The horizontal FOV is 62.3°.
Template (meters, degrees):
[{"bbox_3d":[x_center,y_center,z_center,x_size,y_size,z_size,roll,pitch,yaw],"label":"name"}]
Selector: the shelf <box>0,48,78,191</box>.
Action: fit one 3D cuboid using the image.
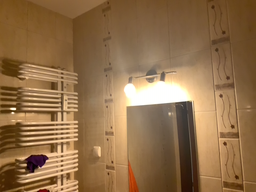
[{"bbox_3d":[-0.680,0.260,1.610,0.250,1.100,0.530,-7,-8,40],"label":"shelf"}]
